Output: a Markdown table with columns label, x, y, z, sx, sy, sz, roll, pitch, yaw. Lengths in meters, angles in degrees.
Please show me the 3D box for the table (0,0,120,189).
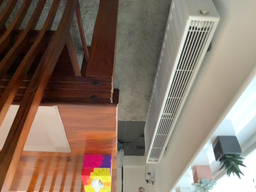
| label | x | y | z | sx | sy | sz | roll | pitch | yaw |
| --- | --- | --- | --- | --- | --- | --- | --- | --- | --- |
| table | -0.720 | -0.080 | 1.030 | 1.340 | 0.770 | 0.900 | 1 | 142 | -3 |
